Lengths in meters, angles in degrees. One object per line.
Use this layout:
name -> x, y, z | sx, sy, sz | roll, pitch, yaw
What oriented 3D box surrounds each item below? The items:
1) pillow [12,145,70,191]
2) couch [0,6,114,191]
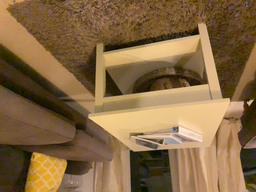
pillow -> -0.840, 0.790, 2.120 | 0.220, 0.450, 0.500 | -6, -179, 18
couch -> -0.990, 0.390, 1.740 | 1.230, 0.880, 1.920 | -7, 155, 12
